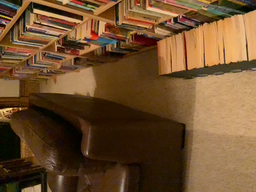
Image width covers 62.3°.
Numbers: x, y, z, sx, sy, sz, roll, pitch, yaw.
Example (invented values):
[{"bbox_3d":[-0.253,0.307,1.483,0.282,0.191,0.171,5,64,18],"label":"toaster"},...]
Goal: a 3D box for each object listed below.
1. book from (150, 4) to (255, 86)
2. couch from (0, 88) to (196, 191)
[{"bbox_3d":[0.480,-0.230,1.180,0.670,0.310,0.290,-3,88,49],"label":"book"},{"bbox_3d":[-0.330,0.570,1.630,1.170,0.960,1.110,13,100,49],"label":"couch"}]
